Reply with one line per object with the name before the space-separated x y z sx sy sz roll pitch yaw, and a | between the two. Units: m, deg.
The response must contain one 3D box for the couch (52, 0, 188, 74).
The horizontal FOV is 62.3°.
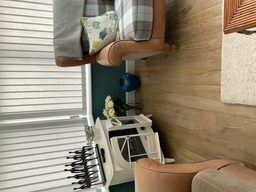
couch | -0.150 -0.750 1.970 0.870 0.980 0.980 175 92 -67
